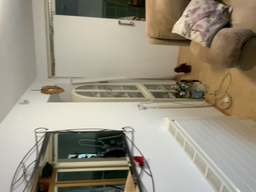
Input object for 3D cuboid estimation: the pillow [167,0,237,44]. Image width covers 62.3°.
[{"bbox_3d":[0.590,-0.660,1.780,0.420,0.350,0.370,-121,33,-66],"label":"pillow"}]
